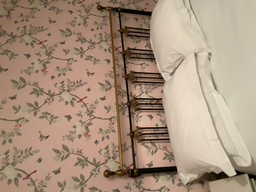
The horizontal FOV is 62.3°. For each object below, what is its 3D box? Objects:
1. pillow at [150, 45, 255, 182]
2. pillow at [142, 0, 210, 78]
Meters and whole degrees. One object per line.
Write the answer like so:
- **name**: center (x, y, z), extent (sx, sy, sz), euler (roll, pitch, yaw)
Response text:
- **pillow**: center (0.420, 0.130, 1.440), extent (0.500, 0.260, 0.770), euler (119, 149, -58)
- **pillow**: center (0.350, -0.560, 1.760), extent (0.470, 0.240, 0.670), euler (120, 147, -60)
